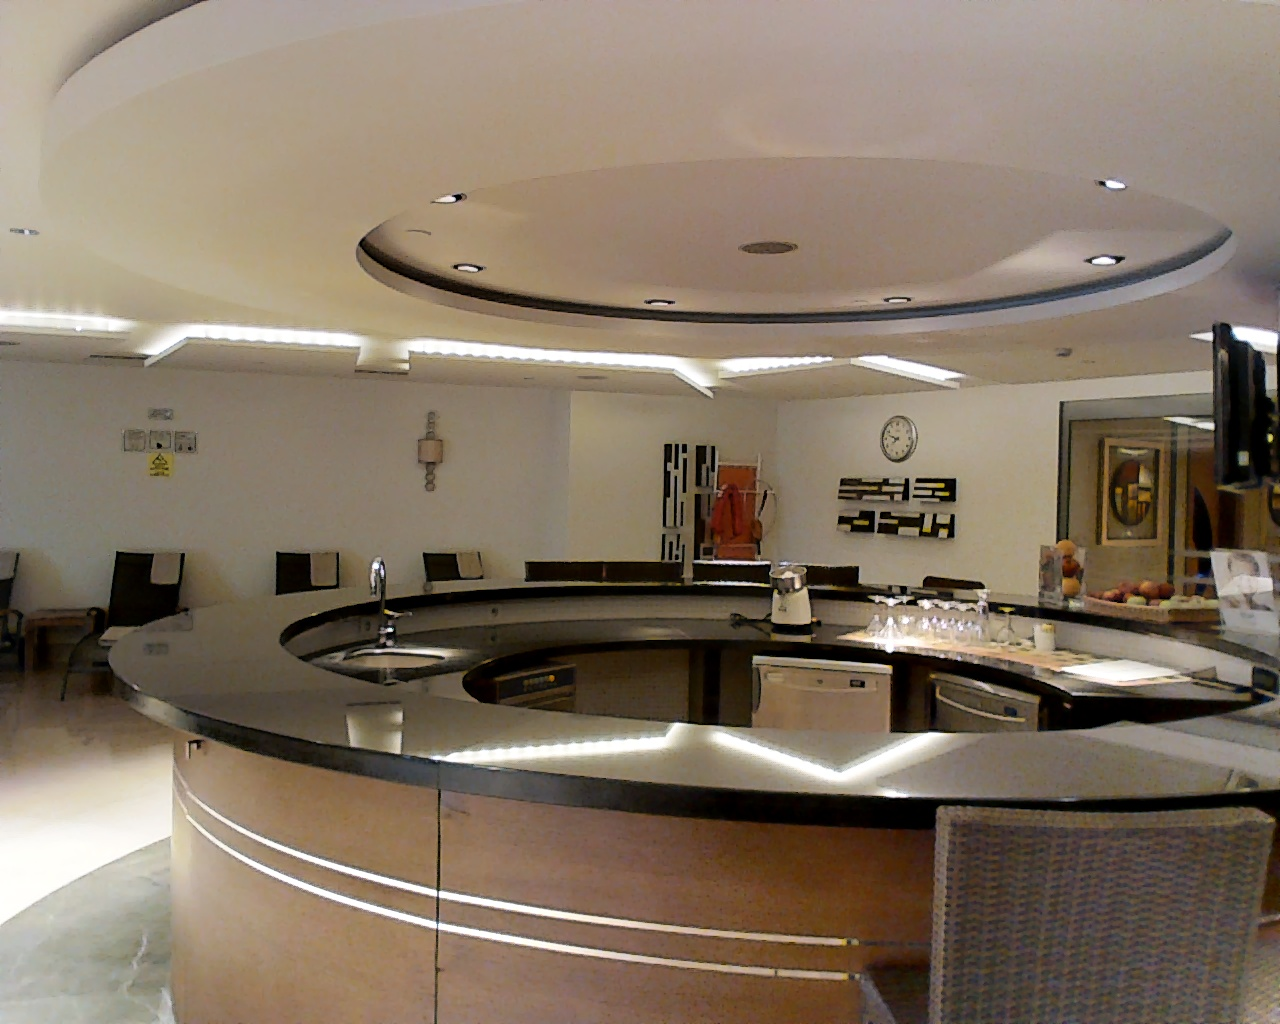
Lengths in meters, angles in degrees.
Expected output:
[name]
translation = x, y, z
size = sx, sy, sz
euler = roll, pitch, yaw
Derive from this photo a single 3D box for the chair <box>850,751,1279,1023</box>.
[chair]
translation = 0.610, 0.990, 1.630
size = 0.460, 1.150, 0.460
euler = 1, 0, -6
